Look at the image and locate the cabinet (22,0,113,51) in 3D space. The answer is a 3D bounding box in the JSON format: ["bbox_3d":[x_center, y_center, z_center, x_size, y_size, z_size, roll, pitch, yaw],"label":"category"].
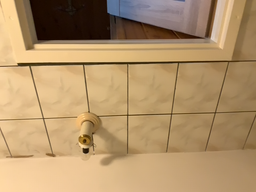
[{"bbox_3d":[-0.620,-0.860,2.370,0.870,0.600,0.340,-2,-148,-4],"label":"cabinet"}]
